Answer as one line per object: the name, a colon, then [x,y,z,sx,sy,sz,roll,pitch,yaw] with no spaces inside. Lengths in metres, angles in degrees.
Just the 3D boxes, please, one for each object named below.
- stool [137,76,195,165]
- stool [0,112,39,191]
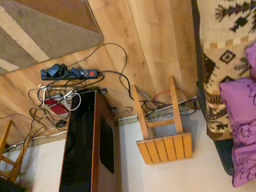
stool: [0.240,0.160,1.390,0.250,0.450,0.290,-15,139,11]
stool: [-0.970,0.450,1.620,0.310,0.480,0.350,-14,139,9]
